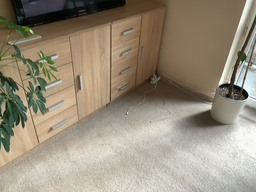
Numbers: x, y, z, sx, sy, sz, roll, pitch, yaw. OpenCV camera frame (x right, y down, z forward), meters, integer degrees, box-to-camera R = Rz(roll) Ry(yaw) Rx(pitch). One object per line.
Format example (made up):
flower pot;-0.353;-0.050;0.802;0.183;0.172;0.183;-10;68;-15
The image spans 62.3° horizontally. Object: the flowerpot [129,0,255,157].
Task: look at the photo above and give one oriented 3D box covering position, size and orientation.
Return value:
flowerpot;0.740;-0.800;1.630;1.260;2.290;0.580;31;44;32
